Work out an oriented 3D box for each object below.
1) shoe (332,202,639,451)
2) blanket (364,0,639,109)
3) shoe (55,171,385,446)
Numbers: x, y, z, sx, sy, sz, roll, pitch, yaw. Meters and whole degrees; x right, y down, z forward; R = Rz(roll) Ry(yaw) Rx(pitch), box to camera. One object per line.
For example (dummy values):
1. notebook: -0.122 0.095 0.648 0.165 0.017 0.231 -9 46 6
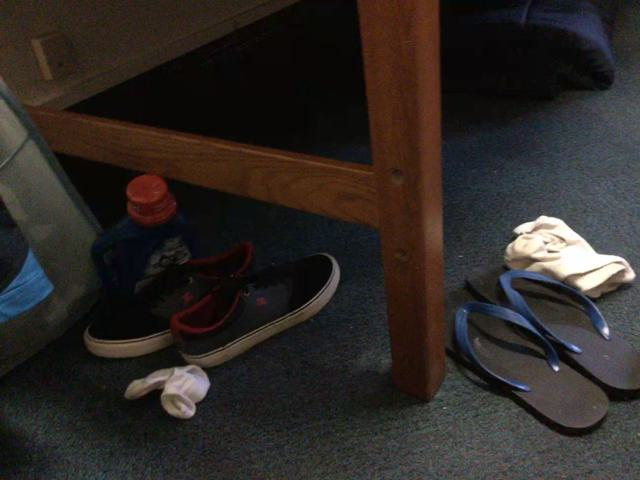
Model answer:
1. shoe: 0.260 0.090 0.850 0.370 0.070 0.310 16 44 33
2. blanket: 0.670 -0.730 1.760 0.620 0.200 0.990 16 44 33
3. shoe: -0.140 0.070 0.950 0.300 0.120 0.440 16 44 33
